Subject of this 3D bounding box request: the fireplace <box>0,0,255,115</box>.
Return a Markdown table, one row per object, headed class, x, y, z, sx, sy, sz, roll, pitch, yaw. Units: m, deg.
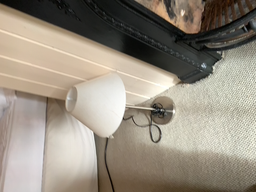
| class | x | y | z | sx | sy | sz | roll | pitch | yaw |
| --- | --- | --- | --- | --- | --- | --- | --- | --- | --- |
| fireplace | 0.080 | -0.340 | 0.470 | 0.980 | 0.950 | 0.360 | -30 | 57 | 43 |
